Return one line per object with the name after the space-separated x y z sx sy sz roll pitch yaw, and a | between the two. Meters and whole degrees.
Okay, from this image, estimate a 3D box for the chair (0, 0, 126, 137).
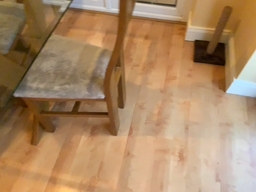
-0.320 -0.220 1.090 0.550 1.030 0.400 9 57 6 | chair
